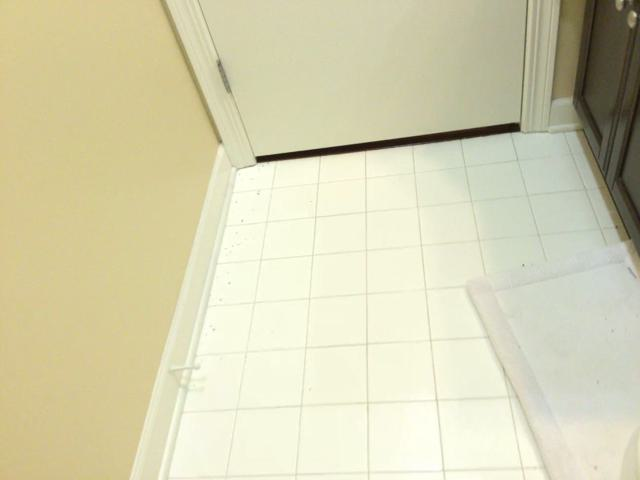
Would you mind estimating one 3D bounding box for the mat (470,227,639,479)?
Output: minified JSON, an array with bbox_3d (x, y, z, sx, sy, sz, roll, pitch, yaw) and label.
[{"bbox_3d":[0.640,0.220,1.230,0.480,0.080,0.540,-13,44,2],"label":"mat"}]
